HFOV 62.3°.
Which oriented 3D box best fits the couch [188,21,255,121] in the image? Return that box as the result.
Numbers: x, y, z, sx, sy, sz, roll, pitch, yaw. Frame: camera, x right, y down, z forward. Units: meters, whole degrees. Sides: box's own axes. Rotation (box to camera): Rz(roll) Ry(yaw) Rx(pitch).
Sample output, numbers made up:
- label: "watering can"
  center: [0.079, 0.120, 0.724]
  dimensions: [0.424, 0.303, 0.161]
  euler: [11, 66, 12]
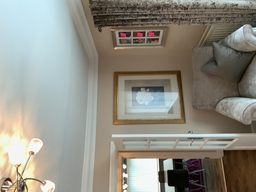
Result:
- label: "couch"
  center: [1.290, -0.260, 2.480]
  dimensions: [0.970, 0.910, 0.930]
  euler: [-72, -19, -86]
